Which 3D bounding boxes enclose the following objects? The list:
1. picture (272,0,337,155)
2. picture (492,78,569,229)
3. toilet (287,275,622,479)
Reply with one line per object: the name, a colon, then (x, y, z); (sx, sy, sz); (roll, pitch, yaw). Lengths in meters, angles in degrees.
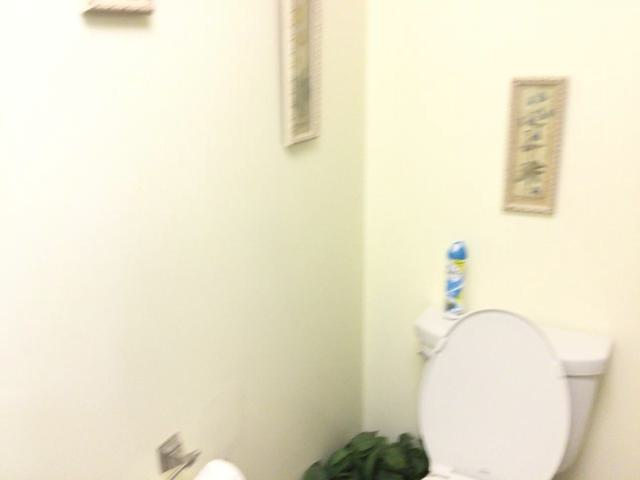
picture: (-0.030, -0.380, 1.280); (0.040, 0.360, 0.190); (7, 17, 30)
picture: (0.510, -0.210, 1.410); (0.150, 0.350, 0.050); (7, 17, 30)
toilet: (0.350, 0.630, 1.340); (0.500, 0.870, 0.730); (7, 17, 30)
